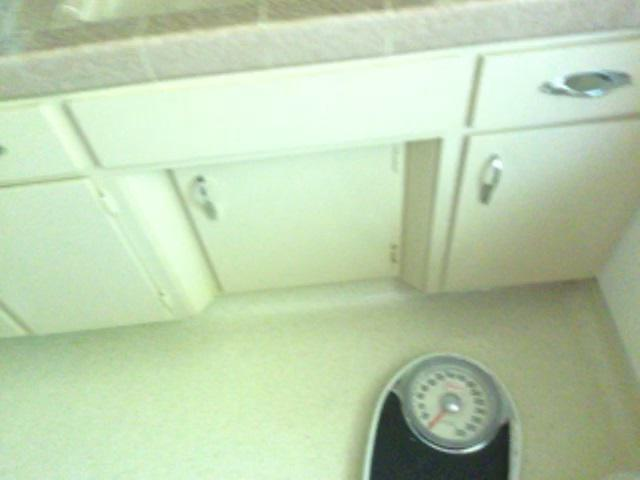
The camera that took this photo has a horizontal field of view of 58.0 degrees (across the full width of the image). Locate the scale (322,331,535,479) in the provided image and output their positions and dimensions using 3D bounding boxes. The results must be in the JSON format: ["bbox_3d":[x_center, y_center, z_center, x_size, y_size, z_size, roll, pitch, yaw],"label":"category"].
[{"bbox_3d":[0.200,0.420,1.080,0.370,0.070,0.480,5,54,11],"label":"scale"}]

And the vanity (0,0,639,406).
[{"bbox_3d":[-0.780,-0.180,1.080,2.680,1.030,0.610,-4,52,4],"label":"vanity"}]
